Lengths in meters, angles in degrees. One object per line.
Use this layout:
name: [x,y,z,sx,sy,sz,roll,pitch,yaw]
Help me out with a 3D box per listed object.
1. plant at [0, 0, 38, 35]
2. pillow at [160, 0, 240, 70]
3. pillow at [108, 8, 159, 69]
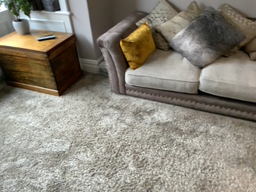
plant: [-1.400,-1.080,2.560,0.330,0.550,0.310,13,40,19]
pillow: [0.750,-0.710,2.300,0.270,0.590,0.740,30,-24,-19]
pillow: [0.090,-0.600,2.360,0.270,0.440,0.670,13,0,21]
